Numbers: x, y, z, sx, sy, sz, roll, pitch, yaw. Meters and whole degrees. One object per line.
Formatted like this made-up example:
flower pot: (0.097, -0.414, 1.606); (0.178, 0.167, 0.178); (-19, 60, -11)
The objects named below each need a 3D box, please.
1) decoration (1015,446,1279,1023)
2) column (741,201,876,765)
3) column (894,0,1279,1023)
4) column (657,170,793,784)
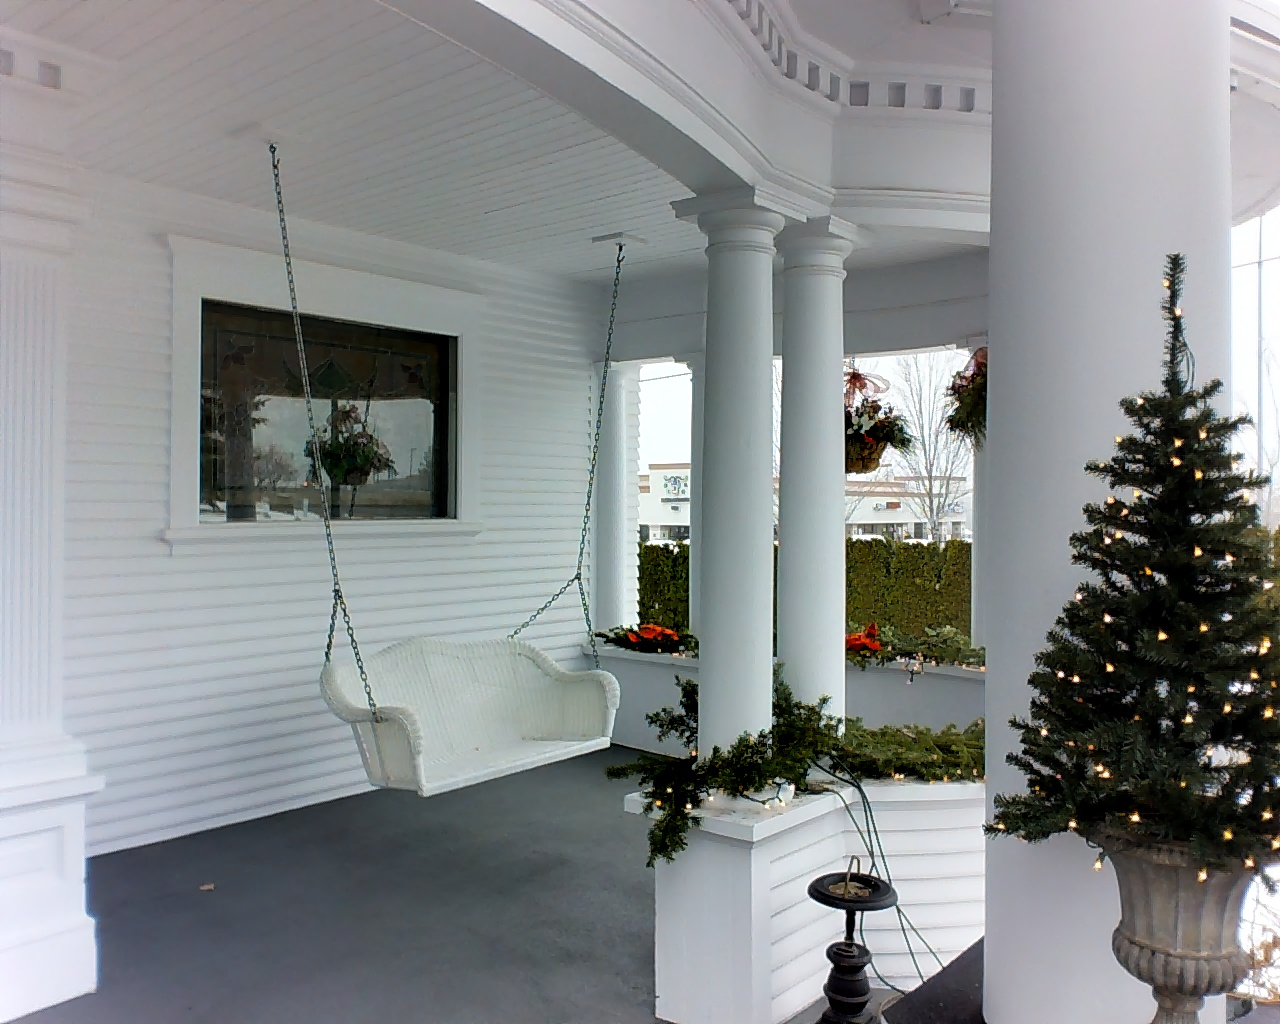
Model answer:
decoration: (1.030, 0.580, 2.000); (0.460, 1.370, 0.480); (1, 1, -4)
column: (0.560, -0.090, 3.590); (0.310, 1.771, 0.280); (2, 1, 40)
column: (1.080, -0.230, 2.540); (0.630, 2.971, 0.710); (2, 1, 40)
column: (0.260, -0.100, 3.270); (0.250, 1.751, 0.300); (2, 1, 40)
